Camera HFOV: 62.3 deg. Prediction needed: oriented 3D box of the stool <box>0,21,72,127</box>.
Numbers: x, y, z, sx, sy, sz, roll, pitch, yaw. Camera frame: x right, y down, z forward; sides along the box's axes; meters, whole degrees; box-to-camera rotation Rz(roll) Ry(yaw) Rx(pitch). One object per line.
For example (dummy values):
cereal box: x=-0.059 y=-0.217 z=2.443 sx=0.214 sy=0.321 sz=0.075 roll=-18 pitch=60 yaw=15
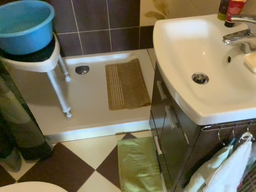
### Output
stool: x=-0.650 y=-0.140 z=1.430 sx=0.430 sy=0.510 sz=0.430 roll=-7 pitch=50 yaw=-6

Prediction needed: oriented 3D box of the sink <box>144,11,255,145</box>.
sink: x=0.300 y=-0.110 z=0.780 sx=0.380 sy=0.130 sz=0.520 roll=-7 pitch=50 yaw=-5
